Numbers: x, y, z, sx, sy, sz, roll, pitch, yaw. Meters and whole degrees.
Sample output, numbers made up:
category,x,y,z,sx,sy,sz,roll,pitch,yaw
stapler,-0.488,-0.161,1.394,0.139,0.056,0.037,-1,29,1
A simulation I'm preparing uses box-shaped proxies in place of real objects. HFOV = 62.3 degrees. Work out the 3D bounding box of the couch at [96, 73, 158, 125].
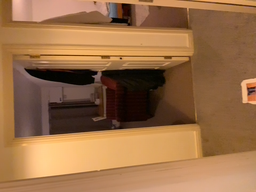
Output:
category,x,y,z,sx,sy,sz,roll,pitch,yaw
couch,-0.120,0.110,4.460,1.520,0.920,0.880,156,111,-75
